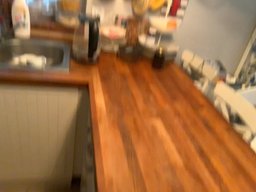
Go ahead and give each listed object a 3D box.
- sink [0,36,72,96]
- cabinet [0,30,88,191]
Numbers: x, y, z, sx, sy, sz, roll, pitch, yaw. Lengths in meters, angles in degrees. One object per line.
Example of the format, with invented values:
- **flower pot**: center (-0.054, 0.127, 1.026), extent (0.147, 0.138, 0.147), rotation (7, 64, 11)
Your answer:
- **sink**: center (-0.560, -0.190, 1.270), extent (0.420, 0.170, 0.410), rotation (3, 32, -15)
- **cabinet**: center (-0.840, 0.110, 1.410), extent (1.040, 0.920, 0.590), rotation (3, 32, -15)
